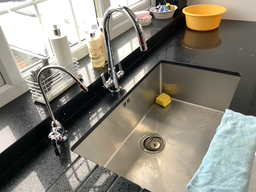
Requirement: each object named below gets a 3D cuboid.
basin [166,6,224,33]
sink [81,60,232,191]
[{"bbox_3d":[0.480,-0.560,1.520,0.320,0.090,0.270,16,41,28],"label":"basin"},{"bbox_3d":[0.170,0.120,0.910,0.350,0.250,0.640,16,41,28],"label":"sink"}]
